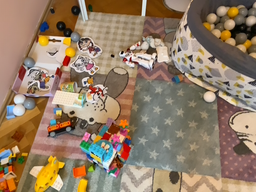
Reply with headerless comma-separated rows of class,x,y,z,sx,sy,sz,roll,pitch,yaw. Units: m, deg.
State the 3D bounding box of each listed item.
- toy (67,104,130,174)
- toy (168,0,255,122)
toy,-0.120,0.230,1.060,0.250,0.330,0.250,2,62,0
toy,0.750,-0.350,1.340,0.800,0.440,0.880,12,62,5
